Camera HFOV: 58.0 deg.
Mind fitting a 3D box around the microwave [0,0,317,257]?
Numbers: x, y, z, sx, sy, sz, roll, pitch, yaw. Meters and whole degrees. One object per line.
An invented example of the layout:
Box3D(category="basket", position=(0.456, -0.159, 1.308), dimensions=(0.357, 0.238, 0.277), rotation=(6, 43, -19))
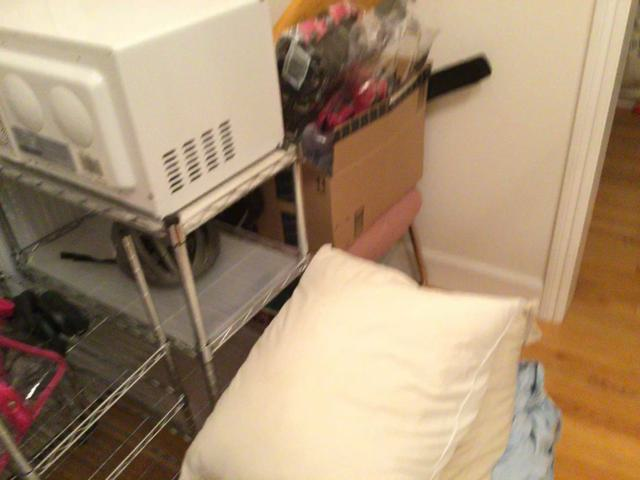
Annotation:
Box3D(category="microwave", position=(-0.360, -0.260, 1.020), dimensions=(0.570, 0.340, 0.350), rotation=(11, 39, 29))
